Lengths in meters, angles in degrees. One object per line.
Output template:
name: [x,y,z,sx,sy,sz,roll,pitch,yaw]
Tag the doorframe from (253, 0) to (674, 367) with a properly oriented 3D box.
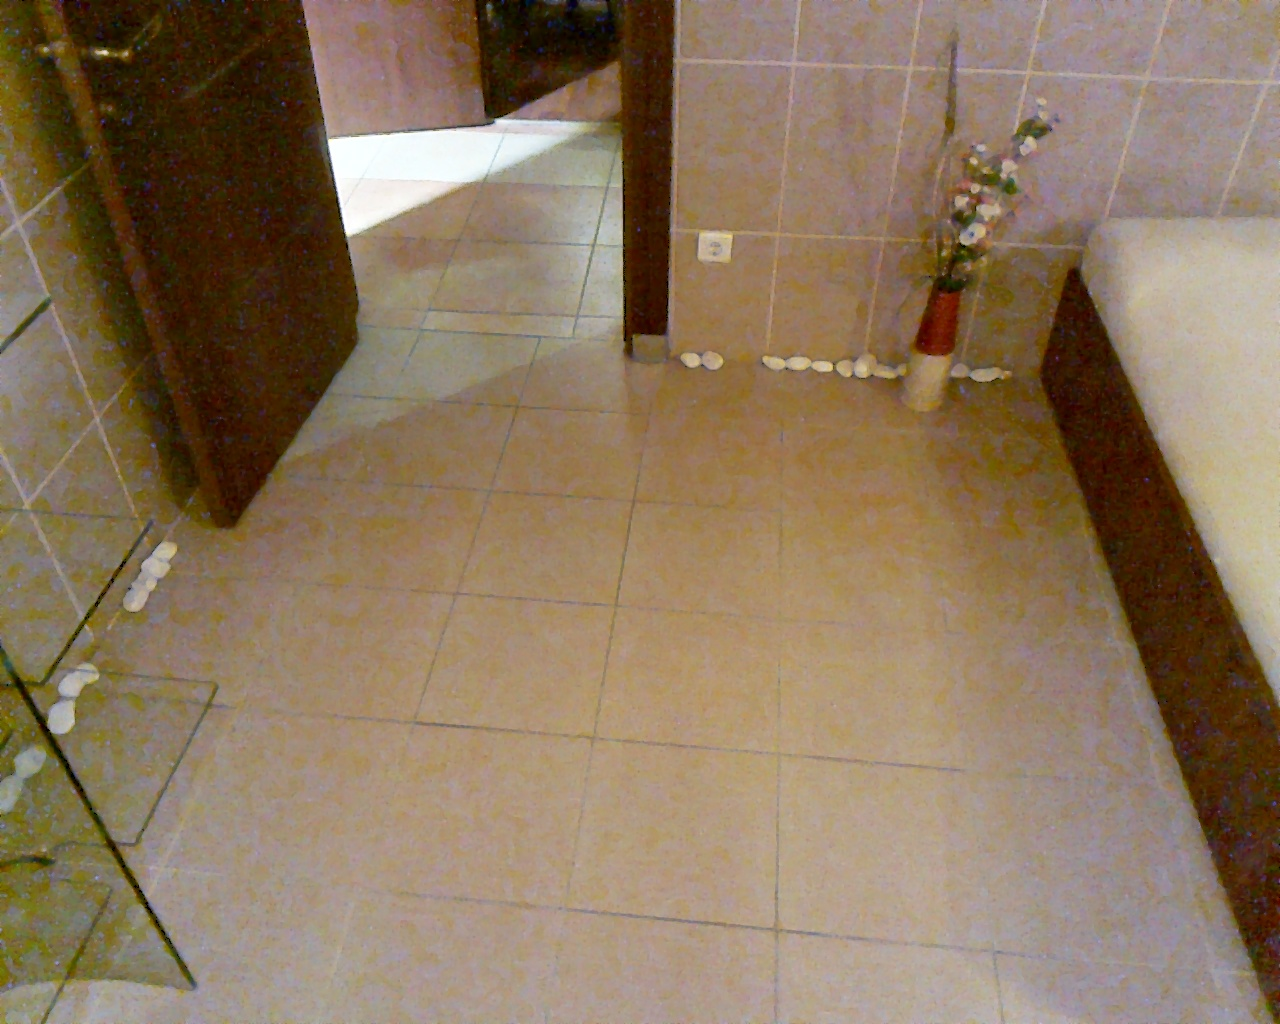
doorframe: [-0.380,-1.350,2.240,0.900,2.280,0.260,3,42,4]
